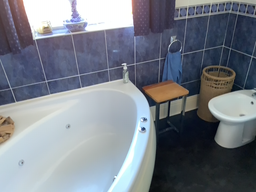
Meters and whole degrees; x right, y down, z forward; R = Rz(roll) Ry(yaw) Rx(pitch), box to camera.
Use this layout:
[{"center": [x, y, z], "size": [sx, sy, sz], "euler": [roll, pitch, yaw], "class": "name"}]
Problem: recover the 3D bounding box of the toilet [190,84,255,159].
[{"center": [0.930, 0.210, 1.930], "size": [0.550, 0.410, 0.370], "euler": [-14, 34, -19], "class": "toilet"}]
